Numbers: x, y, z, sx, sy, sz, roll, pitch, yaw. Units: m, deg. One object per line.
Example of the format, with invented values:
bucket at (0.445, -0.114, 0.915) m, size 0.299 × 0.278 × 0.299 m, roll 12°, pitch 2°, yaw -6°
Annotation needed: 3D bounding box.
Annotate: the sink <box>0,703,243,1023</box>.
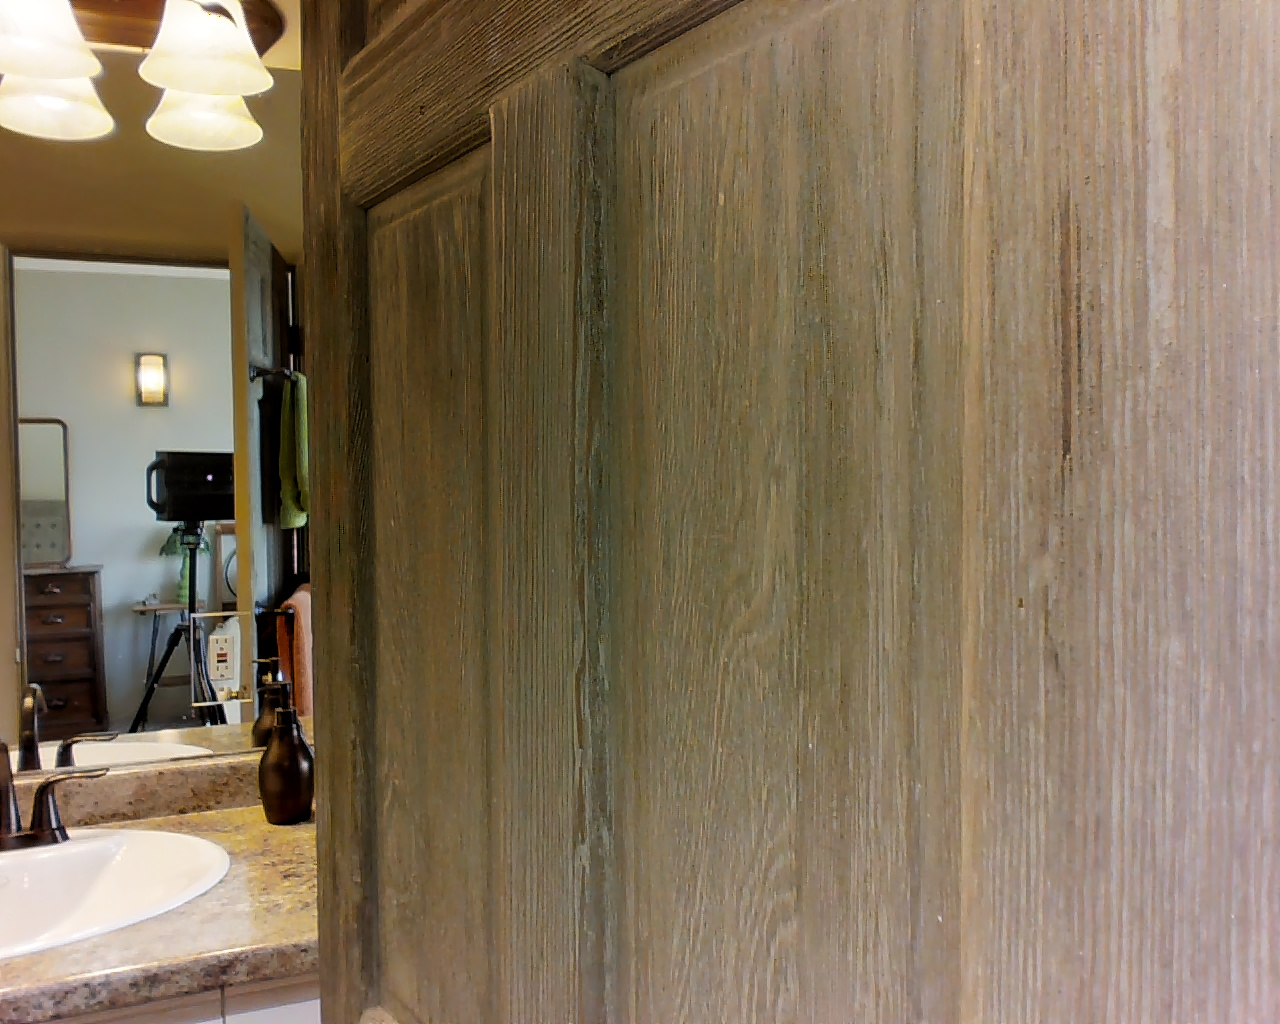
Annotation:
sink at (-0.810, 0.450, 1.330) m, size 0.570 × 0.280 × 0.480 m, roll -2°, pitch 2°, yaw -23°
